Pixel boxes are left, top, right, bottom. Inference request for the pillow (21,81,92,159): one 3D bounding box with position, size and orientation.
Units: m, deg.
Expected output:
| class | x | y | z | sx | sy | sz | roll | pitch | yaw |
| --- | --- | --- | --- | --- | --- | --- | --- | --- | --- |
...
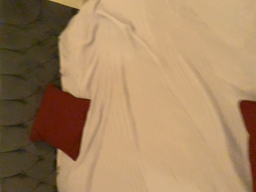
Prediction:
| class | x | y | z | sx | sy | sz | roll | pitch | yaw |
| --- | --- | --- | --- | --- | --- | --- | --- | --- | --- |
| pillow | -0.520 | 0.190 | 1.690 | 0.110 | 0.400 | 0.530 | 32 | 58 | 19 |
